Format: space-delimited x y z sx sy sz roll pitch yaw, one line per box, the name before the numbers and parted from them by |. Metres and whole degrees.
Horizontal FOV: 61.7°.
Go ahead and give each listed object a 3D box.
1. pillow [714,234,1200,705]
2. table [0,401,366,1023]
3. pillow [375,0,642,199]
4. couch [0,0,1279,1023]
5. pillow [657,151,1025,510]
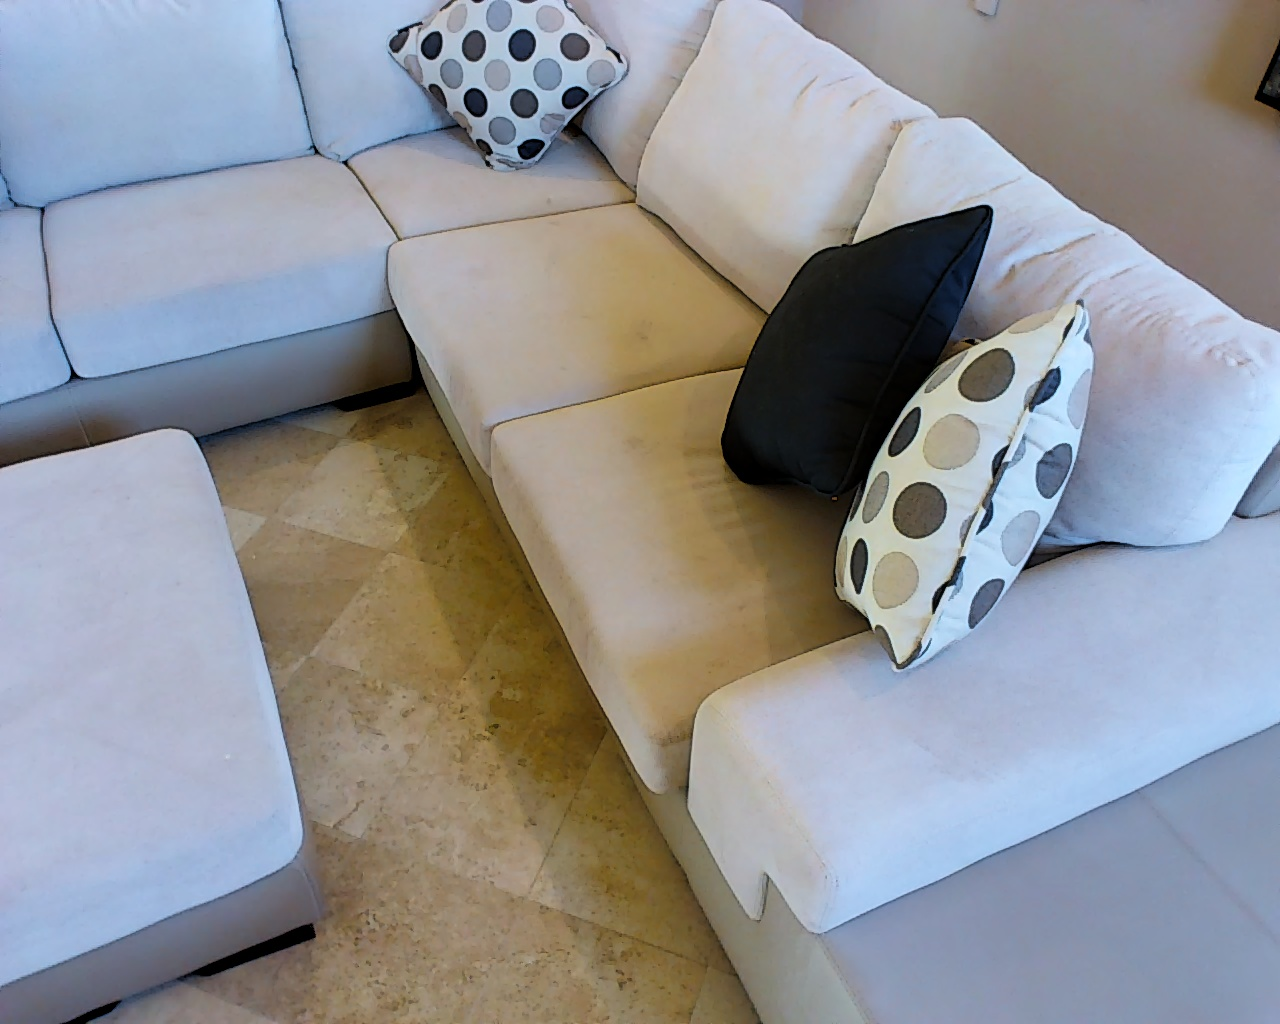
pillow | 0.420 -0.030 1.400 0.420 0.470 0.270 15 17 -48
table | -1.050 0.370 1.680 0.950 0.420 0.970 -16 45 -18
pillow | -0.310 -1.100 2.640 0.260 0.450 0.480 -43 75 11
couch | -0.840 -0.100 1.790 3.150 0.980 3.110 -16 45 -18
pillow | 0.310 -0.270 1.650 0.440 0.460 0.250 4 20 42
